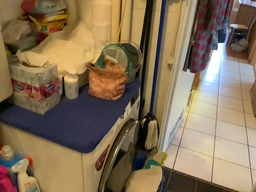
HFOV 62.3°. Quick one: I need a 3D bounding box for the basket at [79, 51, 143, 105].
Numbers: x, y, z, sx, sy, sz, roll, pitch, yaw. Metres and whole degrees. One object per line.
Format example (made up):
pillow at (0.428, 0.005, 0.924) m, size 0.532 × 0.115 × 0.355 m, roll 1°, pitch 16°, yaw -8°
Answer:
basket at (-0.080, -0.110, 1.140) m, size 0.220 × 0.130 × 0.310 m, roll 15°, pitch 33°, yaw 16°
